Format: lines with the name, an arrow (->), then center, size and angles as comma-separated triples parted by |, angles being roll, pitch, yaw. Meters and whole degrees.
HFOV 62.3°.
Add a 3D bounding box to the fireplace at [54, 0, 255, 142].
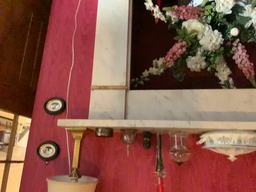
fireplace -> 0.510, -0.340, 1.310 | 1.540, 1.160, 0.710 | 0, 164, 10
